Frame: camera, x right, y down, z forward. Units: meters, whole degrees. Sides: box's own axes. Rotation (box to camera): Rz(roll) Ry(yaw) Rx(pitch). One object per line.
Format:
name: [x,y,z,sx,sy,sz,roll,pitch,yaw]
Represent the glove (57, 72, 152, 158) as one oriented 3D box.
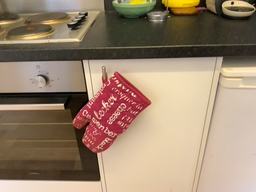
glove: [-0.070,0.080,0.760,0.290,0.330,0.070,0,32,1]
